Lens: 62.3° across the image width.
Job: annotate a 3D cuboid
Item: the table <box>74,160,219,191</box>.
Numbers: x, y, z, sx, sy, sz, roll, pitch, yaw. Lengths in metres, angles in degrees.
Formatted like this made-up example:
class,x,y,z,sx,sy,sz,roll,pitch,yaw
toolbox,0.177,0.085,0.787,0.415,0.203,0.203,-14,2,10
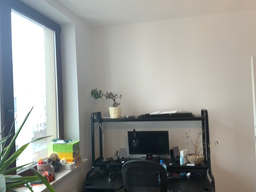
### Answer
class,x,y,z,sx,sy,sz,roll,pitch,yaw
table,0.230,1.250,2.510,1.480,0.720,0.750,-2,-1,14

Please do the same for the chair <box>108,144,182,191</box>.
class,x,y,z,sx,sy,sz,roll,pitch,yaw
chair,0.240,1.110,2.340,0.700,1.000,0.650,-2,-1,14

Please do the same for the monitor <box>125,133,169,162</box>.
class,x,y,z,sx,sy,sz,roll,pitch,yaw
monitor,0.230,0.640,2.660,0.540,0.350,0.030,-2,-1,13
